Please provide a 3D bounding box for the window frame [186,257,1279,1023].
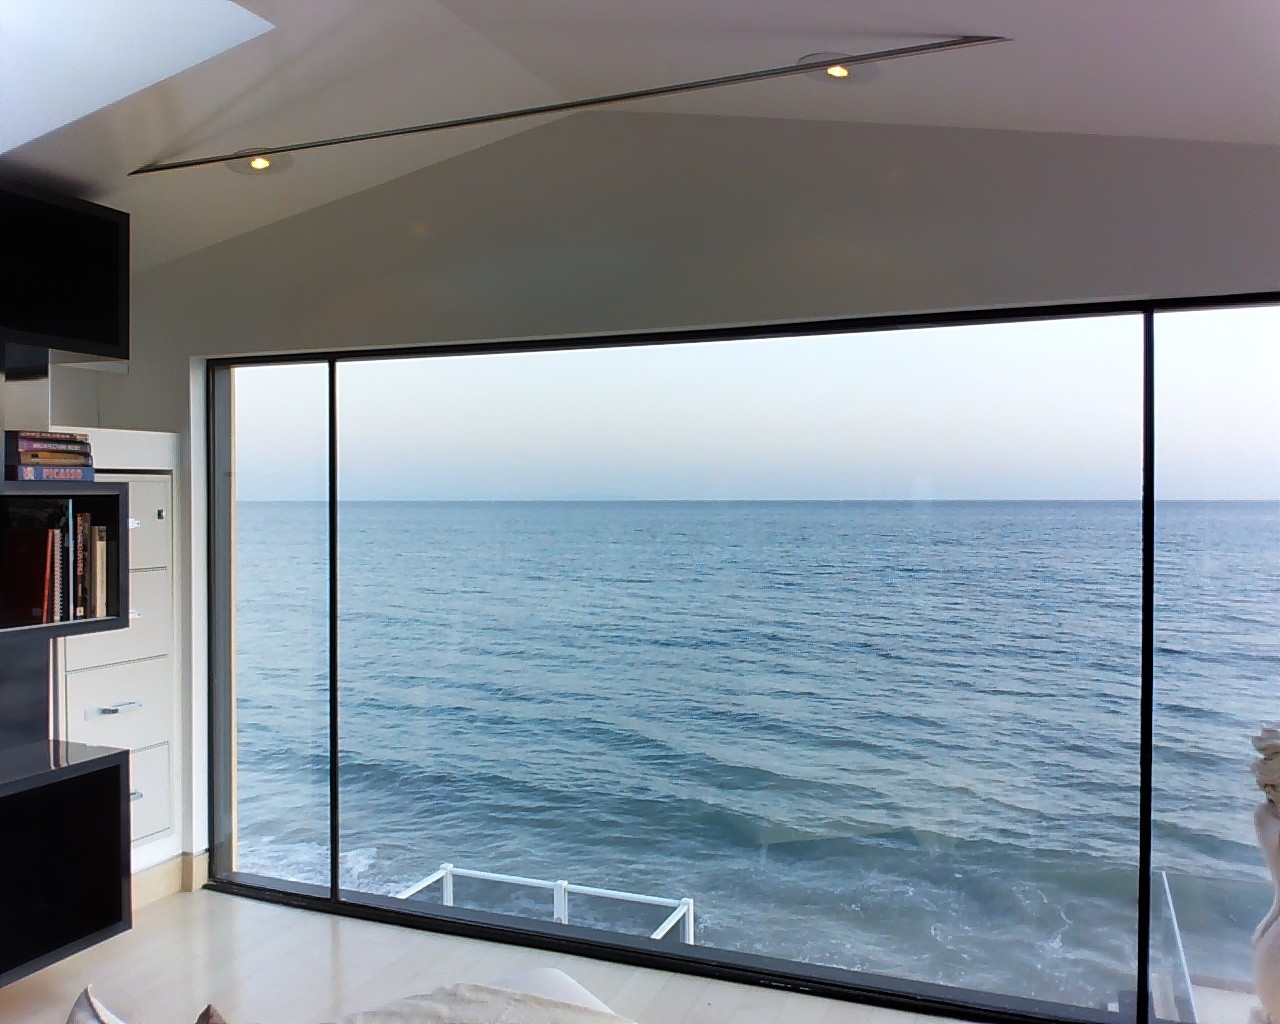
[{"bbox_3d":[0.150,0.400,3.700,4.108,2.211,0.310,1,1,22],"label":"window frame"}]
